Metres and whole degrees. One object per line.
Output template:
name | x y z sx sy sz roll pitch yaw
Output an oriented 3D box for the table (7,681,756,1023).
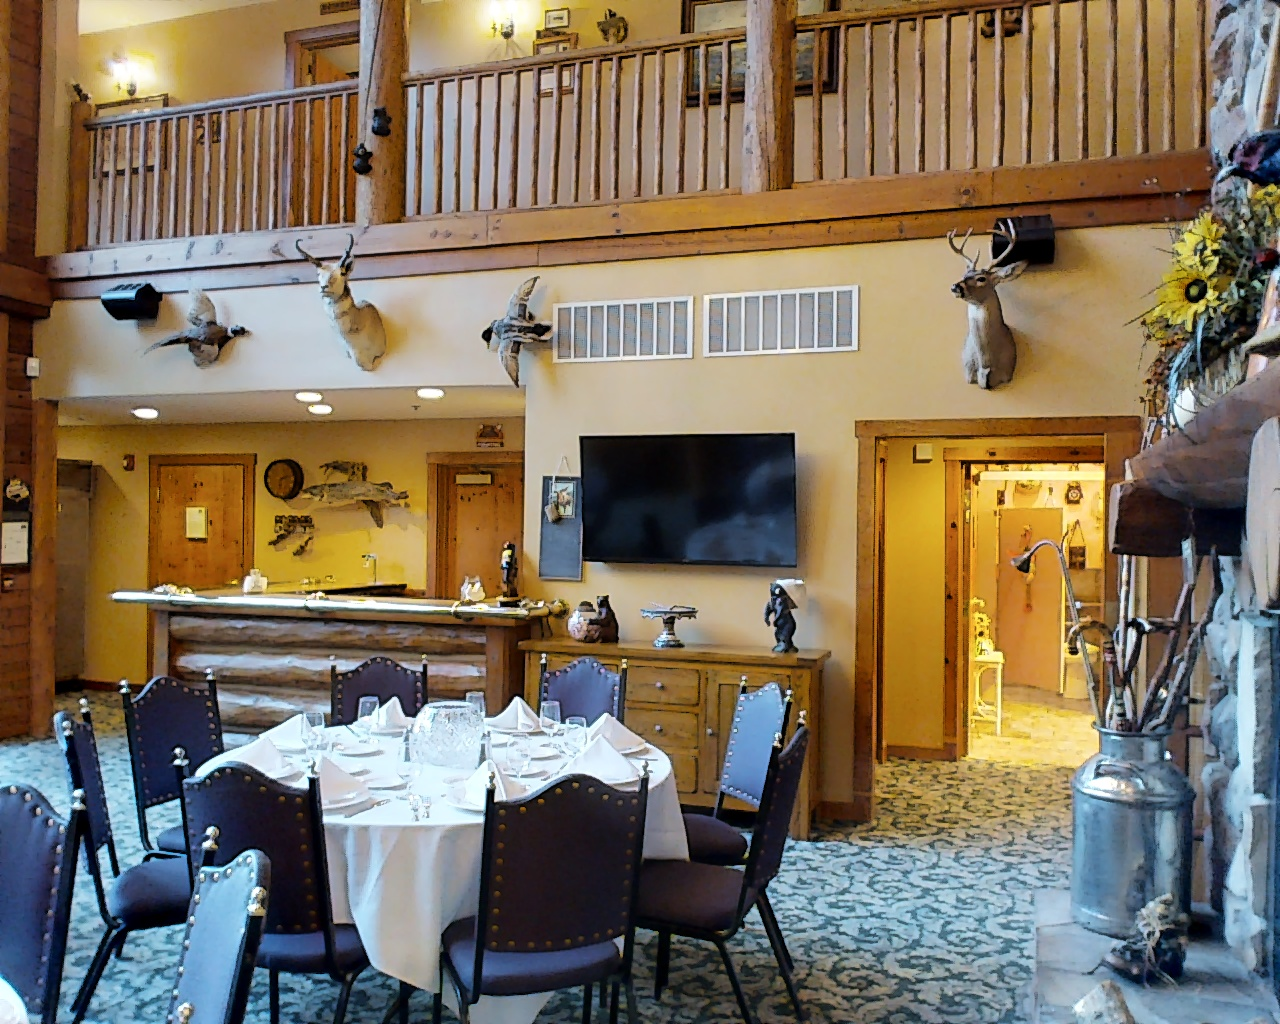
table | -0.660 1.130 3.620 1.730 0.770 1.830 1 -1 18
